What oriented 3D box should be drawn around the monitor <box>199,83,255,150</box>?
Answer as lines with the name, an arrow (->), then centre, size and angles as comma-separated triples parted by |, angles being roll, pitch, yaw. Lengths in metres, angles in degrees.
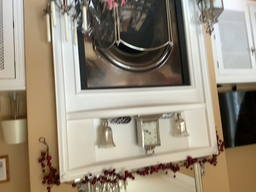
monitor -> 1.410, 0.210, 2.570 | 1.160, 0.740, 0.060 | -2, 175, -17

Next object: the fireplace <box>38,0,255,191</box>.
fireplace -> 0.140, -0.290, 1.690 | 1.540, 1.650, 0.540 | -3, 175, -21
